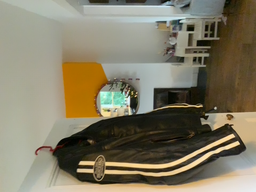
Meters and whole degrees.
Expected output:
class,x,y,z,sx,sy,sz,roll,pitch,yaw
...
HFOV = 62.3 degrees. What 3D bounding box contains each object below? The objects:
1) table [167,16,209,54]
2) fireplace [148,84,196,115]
class,x,y,z,sx,sy,sz,roll,pitch,yaw
table,0.990,-1.020,3.590,0.580,0.470,0.560,-109,18,-74
fireplace,0.810,0.050,4.000,0.280,0.820,0.510,-110,20,-75
